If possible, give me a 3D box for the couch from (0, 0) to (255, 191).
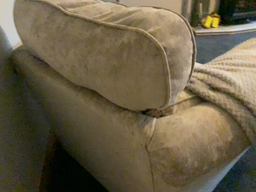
[{"bbox_3d":[0.100,-0.060,1.100,1.220,0.970,1.000,25,45,34],"label":"couch"}]
